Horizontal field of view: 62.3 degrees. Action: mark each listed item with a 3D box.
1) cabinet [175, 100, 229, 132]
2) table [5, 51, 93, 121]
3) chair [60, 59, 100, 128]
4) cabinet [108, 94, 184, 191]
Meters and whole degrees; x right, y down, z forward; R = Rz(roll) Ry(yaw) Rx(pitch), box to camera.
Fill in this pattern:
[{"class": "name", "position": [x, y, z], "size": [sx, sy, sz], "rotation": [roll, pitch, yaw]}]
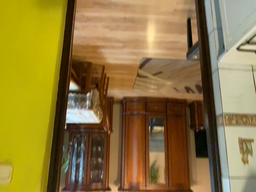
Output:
[{"class": "cabinet", "position": [1.840, 0.520, 5.360], "size": [1.120, 0.660, 0.550], "rotation": [3, 164, -7]}, {"class": "table", "position": [-1.140, -0.080, 3.470], "size": [0.990, 0.760, 1.210], "rotation": [2, 164, -4]}, {"class": "chair", "position": [-0.700, -0.030, 3.250], "size": [0.470, 0.970, 0.410], "rotation": [2, 164, -3]}, {"class": "cabinet", "position": [0.370, 1.080, 4.930], "size": [1.540, 2.070, 0.690], "rotation": [3, 164, -7]}]
